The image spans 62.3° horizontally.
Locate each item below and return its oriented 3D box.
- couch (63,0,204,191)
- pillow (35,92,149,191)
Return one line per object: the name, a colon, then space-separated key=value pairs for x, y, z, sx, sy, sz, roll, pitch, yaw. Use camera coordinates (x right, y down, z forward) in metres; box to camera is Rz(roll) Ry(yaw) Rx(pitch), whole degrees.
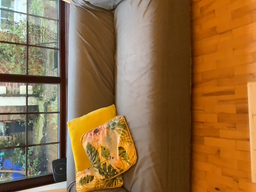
couch: x=-0.020 y=-0.040 z=1.670 sx=0.950 sy=0.680 sz=1.840 roll=0 pitch=90 yaw=55
pillow: x=-0.220 y=0.380 z=1.550 sx=0.190 sy=0.650 sz=0.510 roll=-11 pitch=44 yaw=53
